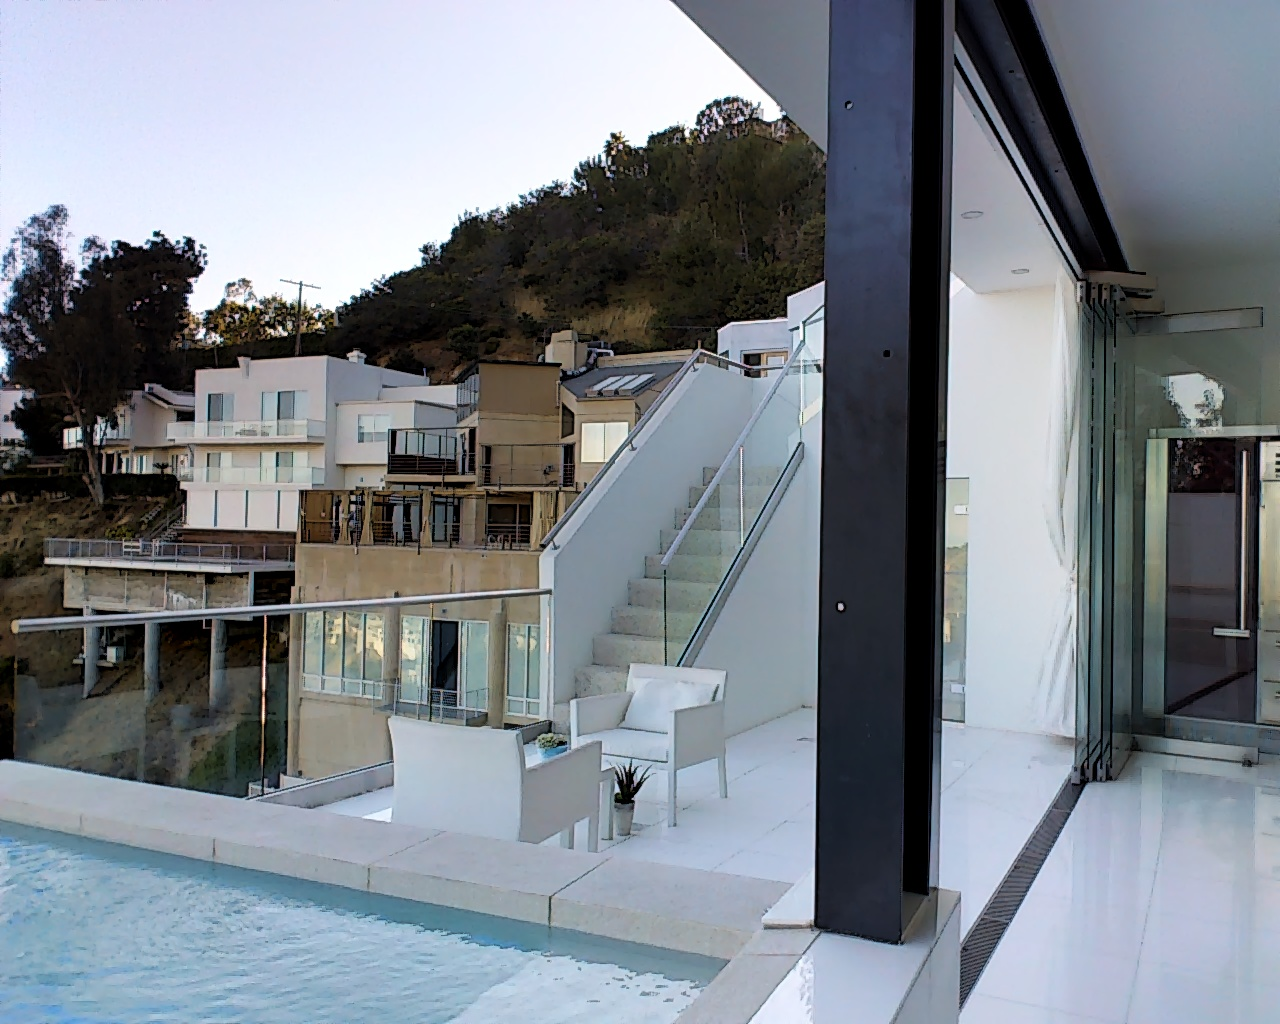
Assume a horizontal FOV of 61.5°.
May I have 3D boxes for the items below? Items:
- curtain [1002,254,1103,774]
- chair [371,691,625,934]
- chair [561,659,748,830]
[{"bbox_3d":[3.030,0.020,7.850,0.440,3.511,1.120,1,-1,31],"label":"curtain"},{"bbox_3d":[-0.600,1.260,4.730,0.750,0.780,0.820,1,-1,28],"label":"chair"},{"bbox_3d":[0.100,1.300,6.220,0.770,0.760,0.830,1,-1,29],"label":"chair"}]
